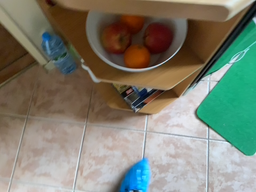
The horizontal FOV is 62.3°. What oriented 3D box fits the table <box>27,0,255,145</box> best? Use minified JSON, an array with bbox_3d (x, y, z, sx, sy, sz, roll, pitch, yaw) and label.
[{"bbox_3d":[-0.040,-0.210,0.710,0.340,0.870,0.590,-36,76,-9],"label":"table"}]
